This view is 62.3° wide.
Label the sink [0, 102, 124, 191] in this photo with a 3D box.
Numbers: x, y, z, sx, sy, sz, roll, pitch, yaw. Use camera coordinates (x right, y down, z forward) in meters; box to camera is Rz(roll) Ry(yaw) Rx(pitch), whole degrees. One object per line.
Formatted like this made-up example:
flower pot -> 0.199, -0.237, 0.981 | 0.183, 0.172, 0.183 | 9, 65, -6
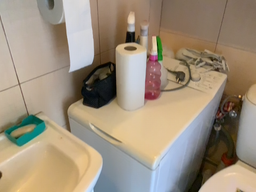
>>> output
sink -> -0.320, 0.260, 0.580 | 0.410, 0.160, 0.470 | 26, 40, 32
